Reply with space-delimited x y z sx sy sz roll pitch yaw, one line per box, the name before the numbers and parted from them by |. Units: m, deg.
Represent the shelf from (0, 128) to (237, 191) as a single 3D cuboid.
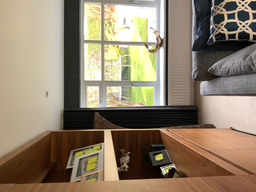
shelf | -0.230 0.620 1.730 1.610 1.320 0.500 170 100 -83
